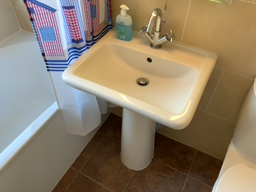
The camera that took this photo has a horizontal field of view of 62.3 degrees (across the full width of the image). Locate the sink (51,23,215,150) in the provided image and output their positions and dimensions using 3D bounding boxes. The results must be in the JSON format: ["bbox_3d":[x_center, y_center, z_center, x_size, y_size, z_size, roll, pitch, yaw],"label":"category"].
[{"bbox_3d":[0.040,-0.090,0.940,0.550,0.140,0.440,21,52,17],"label":"sink"}]
